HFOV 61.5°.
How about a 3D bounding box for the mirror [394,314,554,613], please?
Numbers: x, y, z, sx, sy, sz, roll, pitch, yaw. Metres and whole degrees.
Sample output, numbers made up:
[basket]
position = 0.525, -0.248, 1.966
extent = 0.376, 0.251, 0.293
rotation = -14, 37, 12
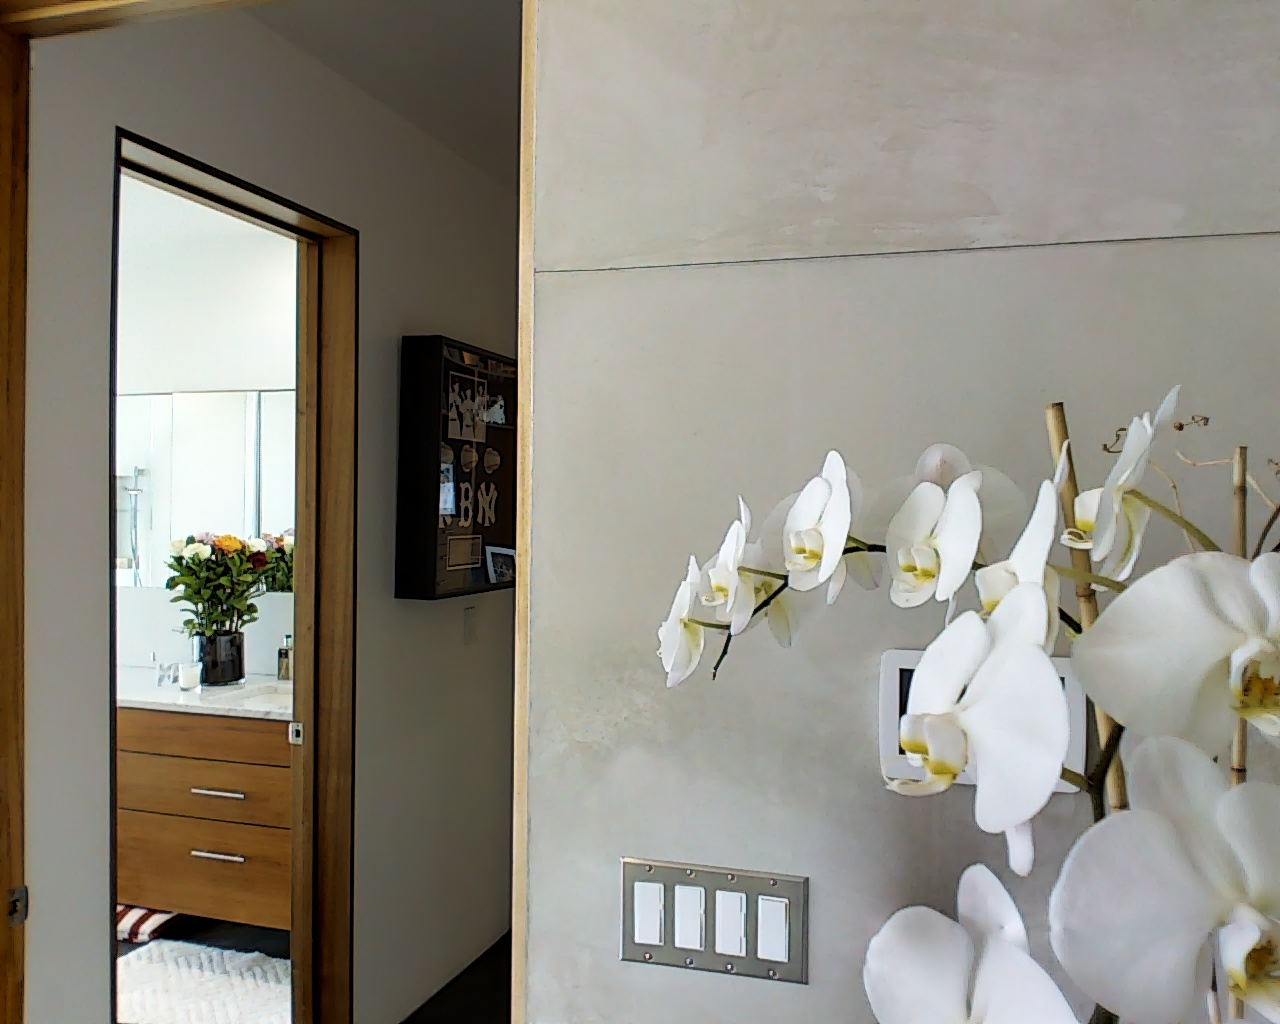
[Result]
[mirror]
position = -0.520, -0.140, 3.540
extent = 0.180, 0.870, 0.800
rotation = 0, 0, 18
